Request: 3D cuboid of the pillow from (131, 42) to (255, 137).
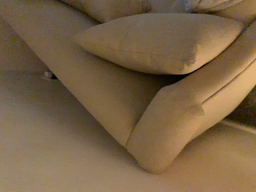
[{"bbox_3d":[0.330,-0.060,0.670,0.480,0.400,0.140,10,119,42],"label":"pillow"}]
